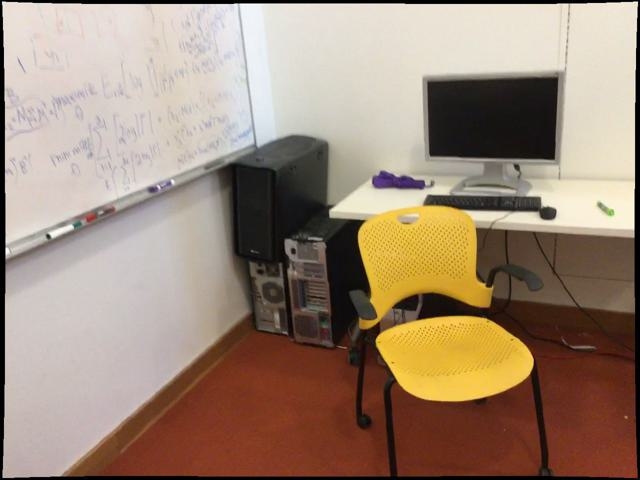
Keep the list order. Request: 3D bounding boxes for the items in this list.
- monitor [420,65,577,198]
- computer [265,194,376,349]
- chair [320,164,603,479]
[{"bbox_3d":[0.749,-0.480,2.470,0.570,0.480,0.300,8,25,24],"label":"monitor"},{"bbox_3d":[0.030,0.130,2.880,0.330,0.550,0.550,8,25,24],"label":"computer"},{"bbox_3d":[0.390,0.270,1.960,0.549,0.821,0.790,-9,23,-13],"label":"chair"}]
